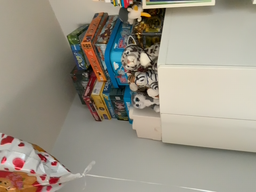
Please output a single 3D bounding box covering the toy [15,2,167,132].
[{"bbox_3d":[-0.120,-0.150,1.260,0.570,0.660,0.450,76,-158,-53],"label":"toy"}]
